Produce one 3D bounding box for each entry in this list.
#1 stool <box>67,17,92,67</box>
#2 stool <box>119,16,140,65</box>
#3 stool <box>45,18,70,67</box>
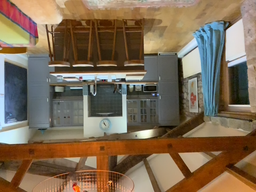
[{"bbox_3d":[-0.910,-1.000,4.000,0.360,0.830,0.360,-1,178,7],"label":"stool"},{"bbox_3d":[0.020,-1.020,3.990,0.360,0.830,0.360,-1,178,-2],"label":"stool"},{"bbox_3d":[-1.330,-1.000,4.020,0.360,0.830,0.360,-1,178,-2],"label":"stool"}]
